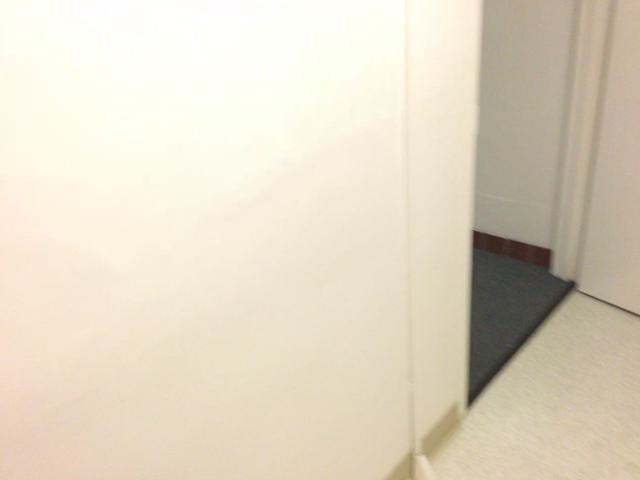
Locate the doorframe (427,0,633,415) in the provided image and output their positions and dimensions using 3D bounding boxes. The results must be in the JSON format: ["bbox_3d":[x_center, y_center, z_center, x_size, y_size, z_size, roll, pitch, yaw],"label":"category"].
[{"bbox_3d":[0.690,-0.340,1.780,0.110,1.470,1.040,18,37,40],"label":"doorframe"}]
